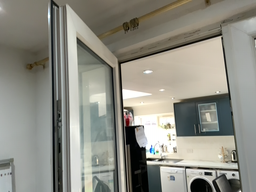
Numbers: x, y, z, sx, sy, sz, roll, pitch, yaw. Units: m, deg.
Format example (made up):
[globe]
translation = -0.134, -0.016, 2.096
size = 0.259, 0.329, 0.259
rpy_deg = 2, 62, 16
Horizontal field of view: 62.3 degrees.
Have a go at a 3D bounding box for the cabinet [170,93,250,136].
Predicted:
[cabinet]
translation = 1.710, 0.440, 4.600
size = 1.520, 0.780, 0.330
rpy_deg = -10, -10, 36
